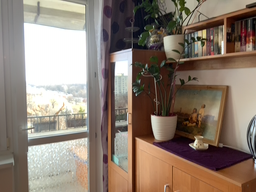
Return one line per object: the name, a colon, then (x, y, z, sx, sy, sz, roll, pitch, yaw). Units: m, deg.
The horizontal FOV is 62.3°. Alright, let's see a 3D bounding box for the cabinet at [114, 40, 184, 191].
cabinet: (0.190, 0.410, 2.230, 0.510, 1.830, 0.500, -2, 5, -30)
